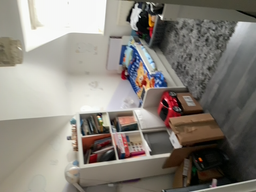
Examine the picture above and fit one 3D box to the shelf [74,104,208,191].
[{"bbox_3d":[0.090,0.580,2.660,0.790,1.440,0.480,-111,25,-48],"label":"shelf"}]
